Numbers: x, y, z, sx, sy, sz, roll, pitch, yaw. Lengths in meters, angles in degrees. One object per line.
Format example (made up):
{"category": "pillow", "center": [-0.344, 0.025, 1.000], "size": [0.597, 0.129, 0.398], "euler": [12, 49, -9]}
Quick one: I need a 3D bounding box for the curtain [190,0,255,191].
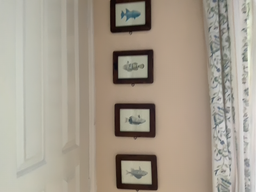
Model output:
{"category": "curtain", "center": [0.430, 0.110, 0.970], "size": [0.240, 2.100, 0.160], "euler": [-1, 180, 10]}
